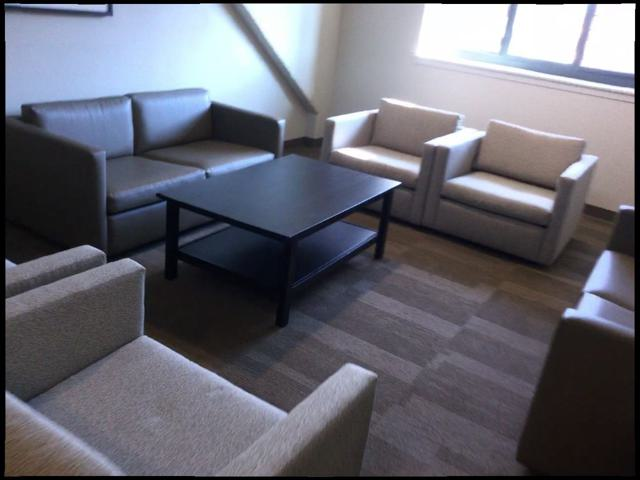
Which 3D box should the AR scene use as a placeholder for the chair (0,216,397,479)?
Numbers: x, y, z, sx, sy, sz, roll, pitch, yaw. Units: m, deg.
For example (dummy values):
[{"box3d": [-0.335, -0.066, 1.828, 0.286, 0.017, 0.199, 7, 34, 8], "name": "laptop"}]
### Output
[{"box3d": [-0.499, 0.531, 1.250, 0.959, 0.741, 0.800, 21, 27, 27], "name": "chair"}]
